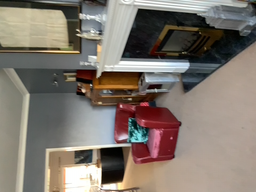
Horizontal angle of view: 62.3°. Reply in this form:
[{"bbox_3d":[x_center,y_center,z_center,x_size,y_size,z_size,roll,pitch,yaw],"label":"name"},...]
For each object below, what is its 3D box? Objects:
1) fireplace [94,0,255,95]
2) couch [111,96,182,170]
[{"bbox_3d":[0.320,-0.520,2.190,1.450,1.200,0.550,124,144,-66],"label":"fireplace"},{"bbox_3d":[0.220,0.530,3.380,0.860,0.820,0.780,-118,31,-62],"label":"couch"}]
